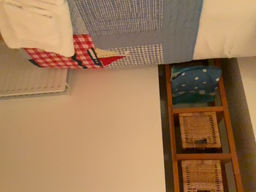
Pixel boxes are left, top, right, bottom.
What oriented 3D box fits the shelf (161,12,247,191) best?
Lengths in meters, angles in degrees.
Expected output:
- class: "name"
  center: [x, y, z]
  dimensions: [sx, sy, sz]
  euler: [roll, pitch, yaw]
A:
- class: "shelf"
  center: [0.490, 0.080, 1.580]
  dimensions: [0.390, 1.380, 0.410]
  euler: [-4, 157, 10]
